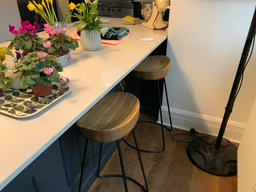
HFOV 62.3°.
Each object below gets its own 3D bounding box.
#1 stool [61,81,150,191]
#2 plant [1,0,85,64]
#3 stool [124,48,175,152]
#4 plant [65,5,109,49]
[{"bbox_3d":[-0.090,0.380,1.300,0.280,0.790,0.440,13,32,21],"label":"stool"},{"bbox_3d":[-0.470,-0.400,1.240,0.300,0.310,0.280,12,32,20],"label":"plant"},{"bbox_3d":[0.190,0.030,1.900,0.280,0.780,0.430,13,32,21],"label":"stool"},{"bbox_3d":[-0.270,-0.470,1.430,0.210,0.240,0.170,12,32,20],"label":"plant"}]
